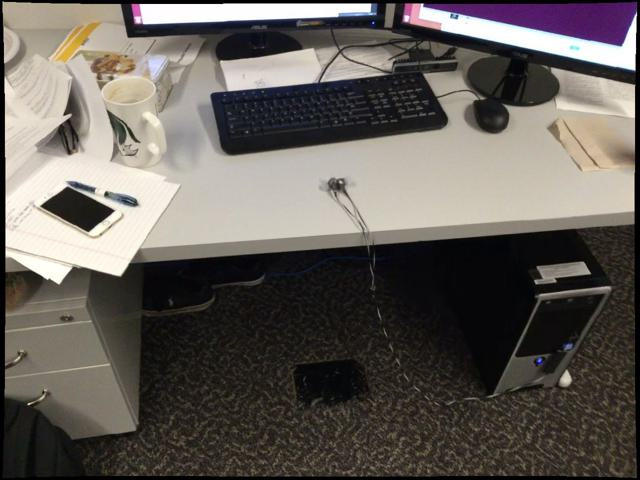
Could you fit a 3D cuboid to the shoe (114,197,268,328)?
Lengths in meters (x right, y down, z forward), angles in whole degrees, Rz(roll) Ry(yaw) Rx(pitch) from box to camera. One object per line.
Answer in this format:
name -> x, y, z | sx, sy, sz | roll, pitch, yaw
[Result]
shoe -> -0.370, 0.060, 1.720 | 0.400, 0.200, 0.310 | -4, 46, -7
